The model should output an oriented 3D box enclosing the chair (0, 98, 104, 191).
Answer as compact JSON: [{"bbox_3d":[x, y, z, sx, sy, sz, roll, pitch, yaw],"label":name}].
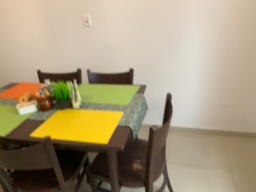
[{"bbox_3d":[-0.450,0.460,1.260,0.420,0.770,0.440,2,24,12],"label":"chair"}]

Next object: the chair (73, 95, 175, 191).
[{"bbox_3d":[0.030,0.430,1.280,0.450,0.750,0.400,3,25,15],"label":"chair"}]
